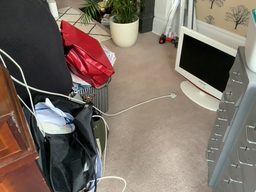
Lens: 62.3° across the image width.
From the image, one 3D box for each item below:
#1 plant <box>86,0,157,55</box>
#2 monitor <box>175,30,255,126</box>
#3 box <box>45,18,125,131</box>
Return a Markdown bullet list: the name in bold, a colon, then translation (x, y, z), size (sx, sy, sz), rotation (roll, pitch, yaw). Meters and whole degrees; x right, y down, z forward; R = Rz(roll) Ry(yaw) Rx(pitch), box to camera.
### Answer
- **plant**: translation (-0.090, -0.990, 2.200), size (0.500, 0.840, 0.600), rotation (-22, 45, -25)
- **monitor**: translation (0.600, -0.150, 1.500), size (0.050, 0.430, 0.670), rotation (-22, 42, -24)
- **box**: translation (-0.280, -0.160, 1.460), size (0.300, 0.550, 0.480), rotation (-23, 45, -26)
